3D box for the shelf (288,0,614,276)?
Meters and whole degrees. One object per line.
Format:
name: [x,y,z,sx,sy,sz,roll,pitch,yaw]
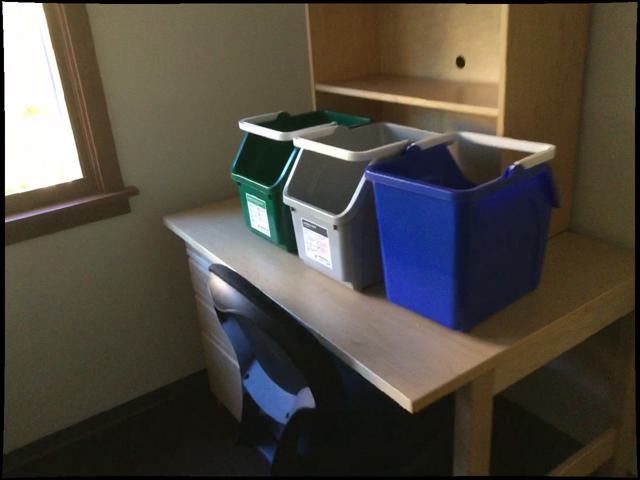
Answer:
shelf: [0.319,-0.451,1.690,0.379,0.792,0.849,-20,28,-31]
